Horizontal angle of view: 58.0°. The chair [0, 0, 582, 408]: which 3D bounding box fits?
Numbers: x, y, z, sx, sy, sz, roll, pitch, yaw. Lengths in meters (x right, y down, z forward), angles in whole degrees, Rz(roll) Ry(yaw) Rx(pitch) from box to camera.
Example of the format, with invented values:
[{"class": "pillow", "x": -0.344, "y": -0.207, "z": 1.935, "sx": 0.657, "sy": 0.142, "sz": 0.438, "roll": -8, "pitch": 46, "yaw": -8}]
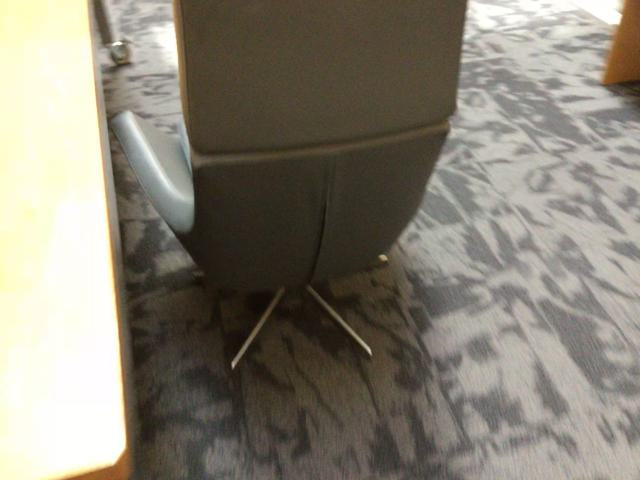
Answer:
[{"class": "chair", "x": -0.120, "y": -0.230, "z": 1.280, "sx": 0.790, "sy": 0.950, "sz": 0.780, "roll": 0, "pitch": 46, "yaw": -4}]
